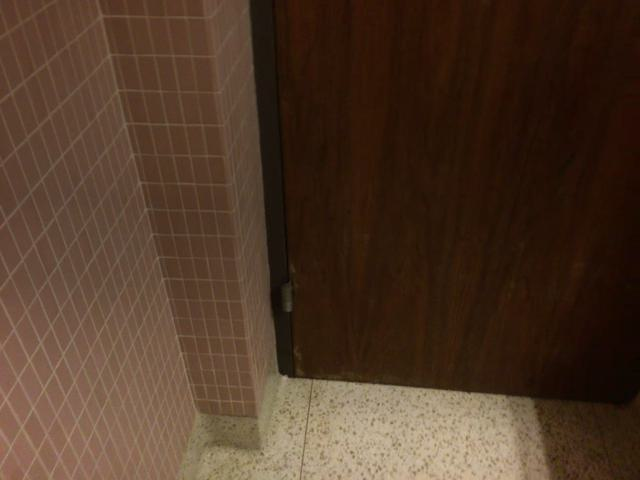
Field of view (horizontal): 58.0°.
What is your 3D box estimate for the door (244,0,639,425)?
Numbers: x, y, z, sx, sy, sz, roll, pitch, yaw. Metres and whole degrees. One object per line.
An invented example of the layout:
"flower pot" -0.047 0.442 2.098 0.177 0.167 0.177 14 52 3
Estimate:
"door" 0.330 -0.160 1.010 0.880 1.430 0.070 4 39 6
